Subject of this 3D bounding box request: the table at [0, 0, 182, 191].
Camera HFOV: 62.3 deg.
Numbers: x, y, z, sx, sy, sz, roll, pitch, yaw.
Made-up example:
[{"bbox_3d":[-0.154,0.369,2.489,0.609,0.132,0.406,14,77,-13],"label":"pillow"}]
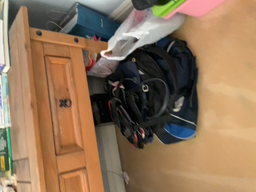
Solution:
[{"bbox_3d":[-0.190,0.300,1.130,0.480,0.740,1.280,-23,74,46],"label":"table"}]
